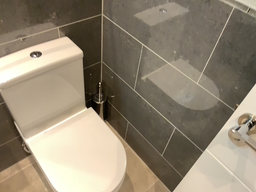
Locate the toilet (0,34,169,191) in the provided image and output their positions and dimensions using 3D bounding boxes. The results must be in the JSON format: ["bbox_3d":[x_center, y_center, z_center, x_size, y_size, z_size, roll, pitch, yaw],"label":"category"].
[{"bbox_3d":[-0.260,0.250,1.070,0.410,0.810,0.620,-31,59,-31],"label":"toilet"}]
